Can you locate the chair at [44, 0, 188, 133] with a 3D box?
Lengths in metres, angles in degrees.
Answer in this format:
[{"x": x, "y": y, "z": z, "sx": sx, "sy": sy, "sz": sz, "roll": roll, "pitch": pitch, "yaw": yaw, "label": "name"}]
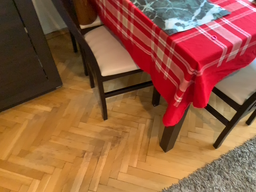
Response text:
[{"x": -0.090, "y": -0.310, "z": 1.190, "sx": 0.560, "sy": 0.980, "sz": 0.440, "roll": -19, "pitch": 54, "yaw": -15, "label": "chair"}]
